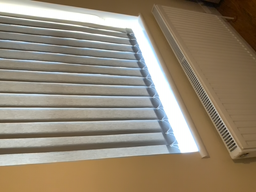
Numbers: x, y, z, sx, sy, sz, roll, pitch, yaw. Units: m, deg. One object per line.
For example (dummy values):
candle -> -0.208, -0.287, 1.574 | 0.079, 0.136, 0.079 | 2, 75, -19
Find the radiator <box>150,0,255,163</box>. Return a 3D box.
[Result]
radiator -> 0.620, -0.220, 1.320 | 0.080, 0.700, 1.250 | 114, 152, -45

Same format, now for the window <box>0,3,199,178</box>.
window -> -0.400, -0.140, 1.090 | 0.070, 1.260, 1.080 | 112, 152, -44
